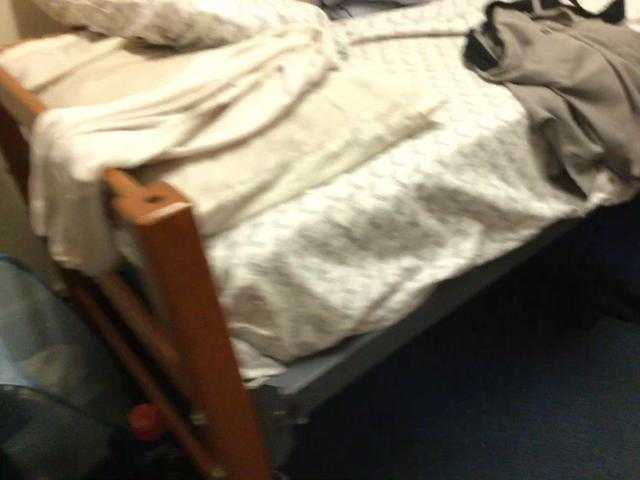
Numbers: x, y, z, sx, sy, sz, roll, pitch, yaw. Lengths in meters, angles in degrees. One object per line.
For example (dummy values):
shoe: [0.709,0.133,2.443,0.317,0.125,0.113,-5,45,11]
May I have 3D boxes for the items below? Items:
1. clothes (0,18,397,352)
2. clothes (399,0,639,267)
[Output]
clothes: [-0.160,-0.110,0.750,0.420,0.200,0.290,-28,39,-25]
clothes: [0.430,-0.240,1.030,0.390,0.290,0.400,-28,39,-25]
